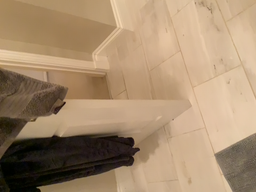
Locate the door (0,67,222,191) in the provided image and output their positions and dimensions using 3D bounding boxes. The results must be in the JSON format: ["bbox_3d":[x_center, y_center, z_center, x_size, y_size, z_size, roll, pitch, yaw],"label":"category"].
[{"bbox_3d":[-0.580,0.230,0.840,0.930,2.080,0.190,-41,59,42],"label":"door"}]
